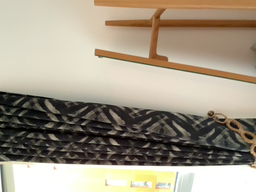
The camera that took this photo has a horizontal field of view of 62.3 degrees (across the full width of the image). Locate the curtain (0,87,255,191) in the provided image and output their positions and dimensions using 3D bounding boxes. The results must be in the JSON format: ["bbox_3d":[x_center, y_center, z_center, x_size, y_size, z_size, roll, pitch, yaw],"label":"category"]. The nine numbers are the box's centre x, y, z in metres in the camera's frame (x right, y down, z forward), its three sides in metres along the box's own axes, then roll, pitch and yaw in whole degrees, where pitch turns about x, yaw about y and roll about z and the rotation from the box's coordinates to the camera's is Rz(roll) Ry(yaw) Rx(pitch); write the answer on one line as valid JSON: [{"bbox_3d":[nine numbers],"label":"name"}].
[{"bbox_3d":[0.240,0.250,1.150,0.300,2.490,0.390,-99,14,-78],"label":"curtain"}]
